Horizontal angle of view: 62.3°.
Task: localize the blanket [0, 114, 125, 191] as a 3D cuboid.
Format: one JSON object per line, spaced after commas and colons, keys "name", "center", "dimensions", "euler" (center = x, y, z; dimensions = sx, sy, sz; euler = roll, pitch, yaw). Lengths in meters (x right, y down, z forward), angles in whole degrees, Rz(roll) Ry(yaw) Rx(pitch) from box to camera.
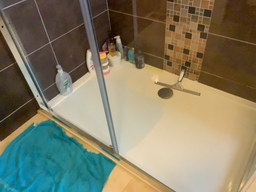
{"name": "blanket", "center": [-0.470, 0.430, 1.220], "dimensions": [0.730, 0.010, 0.540], "euler": [26, 52, 28]}
